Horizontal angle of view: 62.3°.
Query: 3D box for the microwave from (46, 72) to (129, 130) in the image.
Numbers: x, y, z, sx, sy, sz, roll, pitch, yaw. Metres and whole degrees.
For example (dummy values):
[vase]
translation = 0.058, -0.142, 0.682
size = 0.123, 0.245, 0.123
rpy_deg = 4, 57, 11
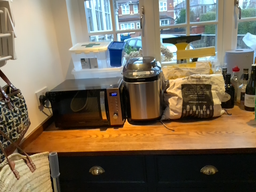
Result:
[microwave]
translation = -0.230, 0.020, 1.380
size = 0.450, 0.270, 0.280
rpy_deg = -4, 18, 2
